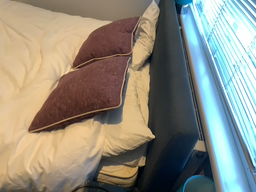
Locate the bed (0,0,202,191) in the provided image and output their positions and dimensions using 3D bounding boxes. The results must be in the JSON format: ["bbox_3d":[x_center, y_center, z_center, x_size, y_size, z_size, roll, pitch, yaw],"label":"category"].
[{"bbox_3d":[-0.820,-0.180,1.680,2.420,0.530,1.710,11,42,-2],"label":"bed"}]

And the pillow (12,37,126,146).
[{"bbox_3d":[-0.250,-0.060,1.120,0.450,0.130,0.470,44,24,-11],"label":"pillow"}]
